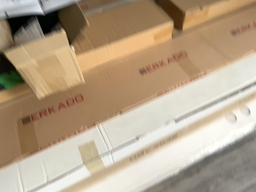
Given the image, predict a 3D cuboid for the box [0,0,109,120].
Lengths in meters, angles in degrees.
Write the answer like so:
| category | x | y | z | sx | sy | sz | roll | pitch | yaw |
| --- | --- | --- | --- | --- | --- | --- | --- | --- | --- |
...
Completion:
| category | x | y | z | sx | sy | sz | roll | pitch | yaw |
| --- | --- | --- | --- | --- | --- | --- | --- | --- | --- |
| box | -0.300 | -0.270 | 0.710 | 0.260 | 0.270 | 0.590 | -20 | 59 | -12 |
